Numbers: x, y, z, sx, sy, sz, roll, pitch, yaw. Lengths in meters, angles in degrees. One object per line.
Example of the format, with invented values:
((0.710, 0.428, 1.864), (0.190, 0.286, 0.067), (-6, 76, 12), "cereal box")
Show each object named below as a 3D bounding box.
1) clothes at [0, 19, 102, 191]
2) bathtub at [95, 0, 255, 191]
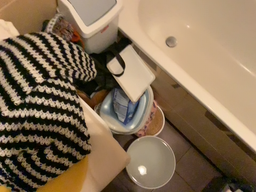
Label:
((-0.350, 0.070, 0.530), (0.360, 0.170, 0.440), (-38, 78, -13), "clothes")
((0.680, -0.030, 1.250), (0.770, 0.610, 1.670), (-42, 79, -14), "bathtub")
